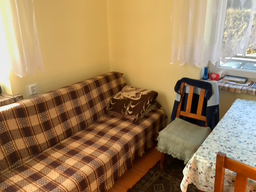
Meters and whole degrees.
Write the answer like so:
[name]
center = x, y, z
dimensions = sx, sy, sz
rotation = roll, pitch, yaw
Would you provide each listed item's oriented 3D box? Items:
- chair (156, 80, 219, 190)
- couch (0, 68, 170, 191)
[chair]
center = 0.600, 0.360, 2.170
dimensions = 0.420, 0.900, 0.520
rotation = 12, 24, 29
[couch]
center = -0.420, 0.350, 2.200
dimensions = 0.840, 0.800, 2.010
rotation = 14, 25, 34
